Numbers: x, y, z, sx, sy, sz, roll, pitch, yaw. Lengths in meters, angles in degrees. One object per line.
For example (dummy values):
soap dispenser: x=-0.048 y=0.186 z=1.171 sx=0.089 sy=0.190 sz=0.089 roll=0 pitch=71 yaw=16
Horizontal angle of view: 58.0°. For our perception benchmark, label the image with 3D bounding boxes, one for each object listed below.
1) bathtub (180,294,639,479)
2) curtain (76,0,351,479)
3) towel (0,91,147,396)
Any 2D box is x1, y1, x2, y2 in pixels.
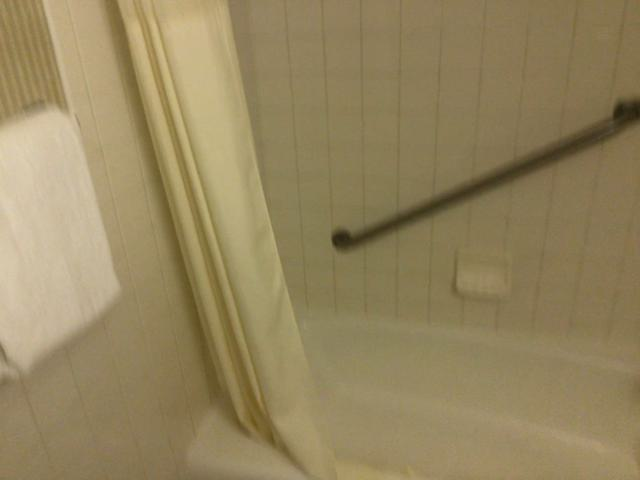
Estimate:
bathtub: x=0.380 y=0.590 z=1.660 sx=1.290 sy=0.410 sz=0.710 roll=5 pitch=29 yaw=17
curtain: x=-0.170 y=-0.140 z=1.110 sx=0.350 sy=1.590 sz=0.220 roll=5 pitch=29 yaw=17
towel: x=-0.410 y=-0.010 z=0.860 sx=0.080 sy=0.350 sz=0.300 roll=5 pitch=29 yaw=17
